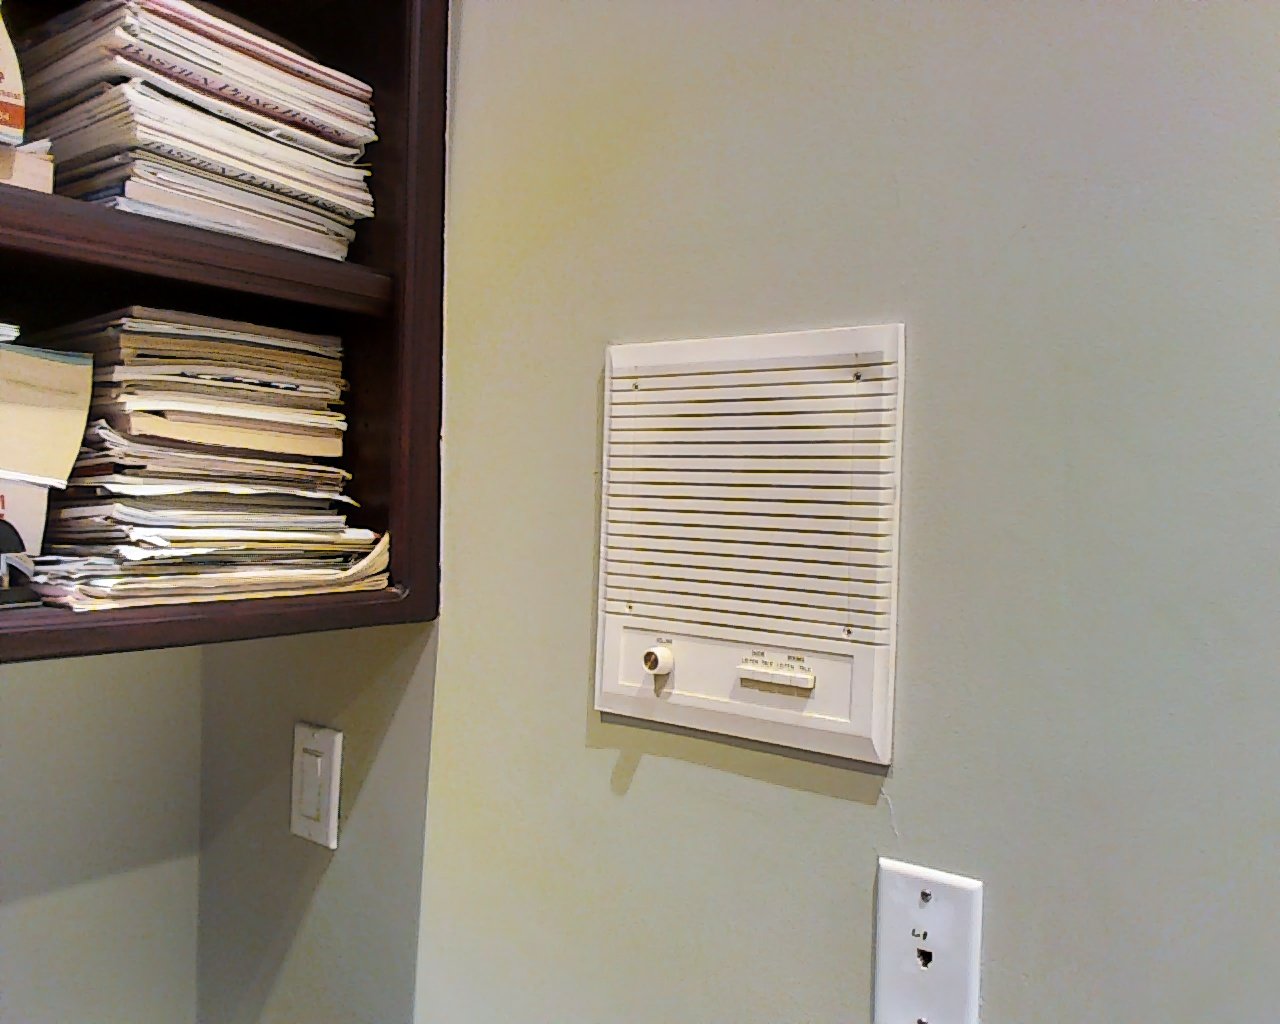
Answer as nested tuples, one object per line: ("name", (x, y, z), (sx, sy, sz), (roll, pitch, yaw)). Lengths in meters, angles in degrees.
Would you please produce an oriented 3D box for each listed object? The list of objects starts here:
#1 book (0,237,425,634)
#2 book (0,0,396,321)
("book", (-0.480, -0.050, 0.670), (0.120, 0.250, 0.800), (2, 0, 36))
("book", (-0.420, -0.320, 0.980), (0.310, 0.230, 0.230), (2, 0, 36))
